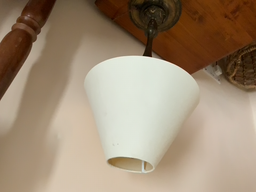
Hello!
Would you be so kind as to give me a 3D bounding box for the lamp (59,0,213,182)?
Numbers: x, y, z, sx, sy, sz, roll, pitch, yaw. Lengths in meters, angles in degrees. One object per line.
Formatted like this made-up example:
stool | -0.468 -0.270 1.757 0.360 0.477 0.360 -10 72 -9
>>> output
lamp | 0.030 -0.060 0.530 0.190 0.460 0.230 29 141 -28
